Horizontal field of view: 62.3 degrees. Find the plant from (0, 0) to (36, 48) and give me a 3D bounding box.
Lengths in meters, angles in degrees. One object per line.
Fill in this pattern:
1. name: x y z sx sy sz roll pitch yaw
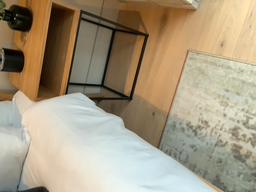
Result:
1. plant: -0.510 -0.320 0.840 0.130 0.210 0.200 24 105 40
